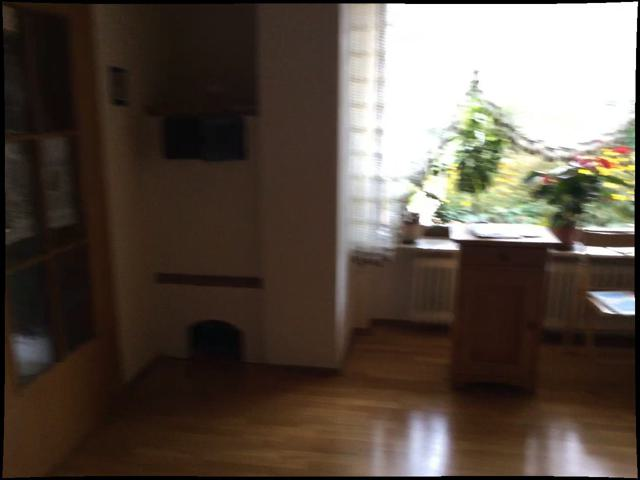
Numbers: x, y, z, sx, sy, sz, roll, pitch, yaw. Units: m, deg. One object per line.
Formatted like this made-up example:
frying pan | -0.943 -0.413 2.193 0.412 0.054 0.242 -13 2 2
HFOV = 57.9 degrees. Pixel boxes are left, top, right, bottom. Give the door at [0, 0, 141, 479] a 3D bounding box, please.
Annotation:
door | -1.079 -0.120 2.280 0.140 1.962 0.970 2 14 10

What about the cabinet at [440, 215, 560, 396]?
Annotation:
cabinet | 0.879 0.310 2.940 0.490 0.801 0.400 2 14 10

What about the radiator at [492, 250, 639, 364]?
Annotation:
radiator | 1.528 0.370 3.290 0.989 0.510 0.380 2 14 10
